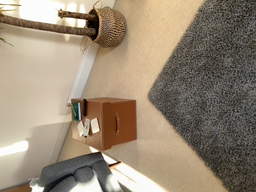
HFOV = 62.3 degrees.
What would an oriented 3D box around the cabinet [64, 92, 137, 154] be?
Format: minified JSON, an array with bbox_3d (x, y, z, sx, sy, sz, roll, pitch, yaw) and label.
[{"bbox_3d":[-0.250,0.190,1.830,0.560,0.360,0.400,5,97,48],"label":"cabinet"}]
